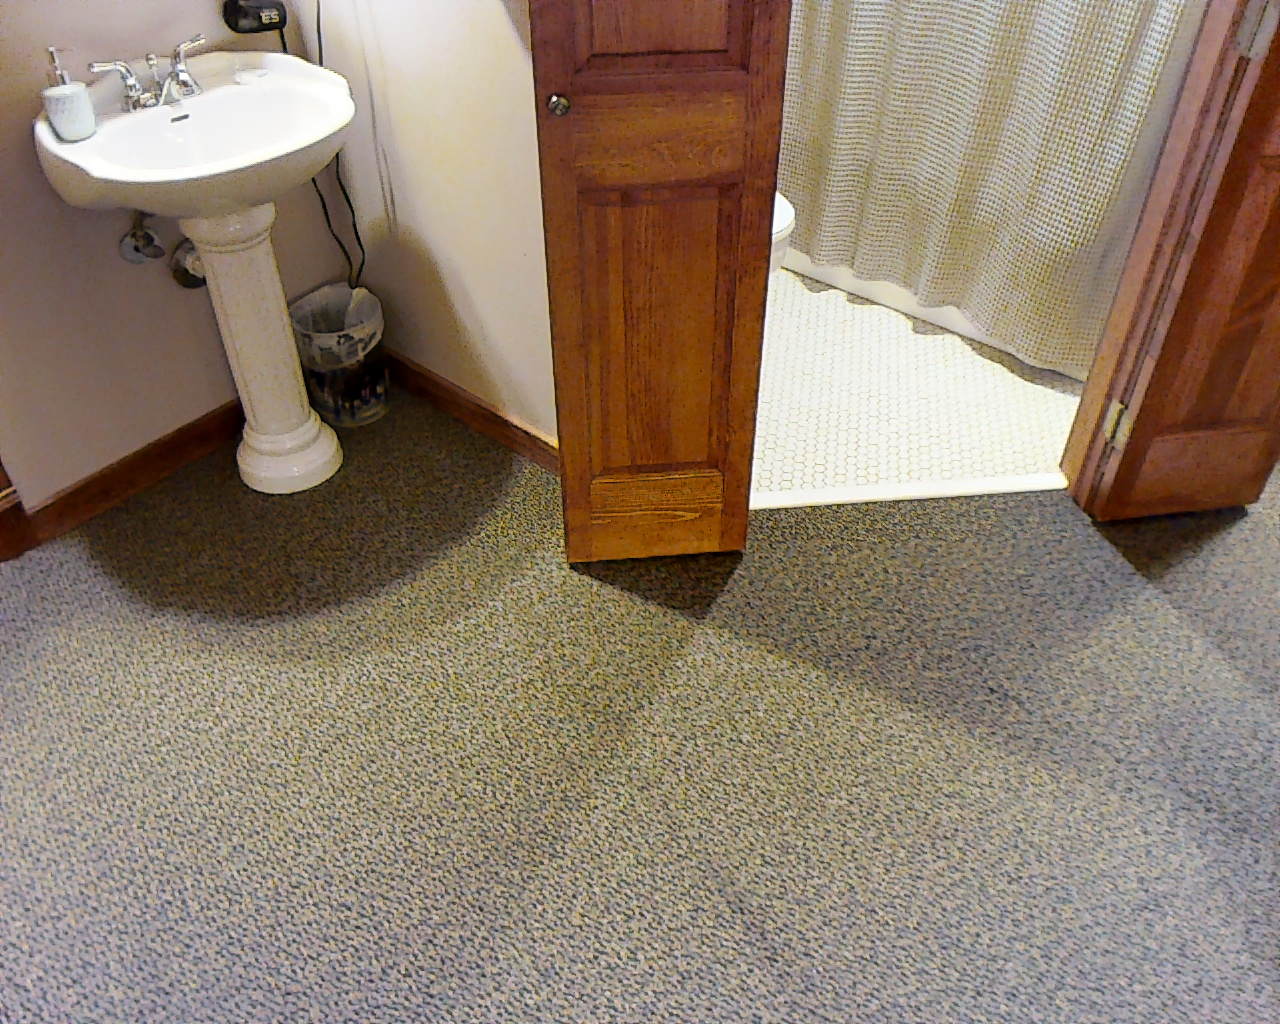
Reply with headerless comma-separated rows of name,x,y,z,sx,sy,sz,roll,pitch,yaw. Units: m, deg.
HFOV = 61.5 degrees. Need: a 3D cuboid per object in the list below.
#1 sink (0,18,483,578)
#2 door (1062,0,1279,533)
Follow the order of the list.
sink,-0.770,-0.450,2.240,0.480,0.850,0.650,29,49,28
door,1.150,-0.780,1.670,0.420,2.110,0.080,-4,42,-4
